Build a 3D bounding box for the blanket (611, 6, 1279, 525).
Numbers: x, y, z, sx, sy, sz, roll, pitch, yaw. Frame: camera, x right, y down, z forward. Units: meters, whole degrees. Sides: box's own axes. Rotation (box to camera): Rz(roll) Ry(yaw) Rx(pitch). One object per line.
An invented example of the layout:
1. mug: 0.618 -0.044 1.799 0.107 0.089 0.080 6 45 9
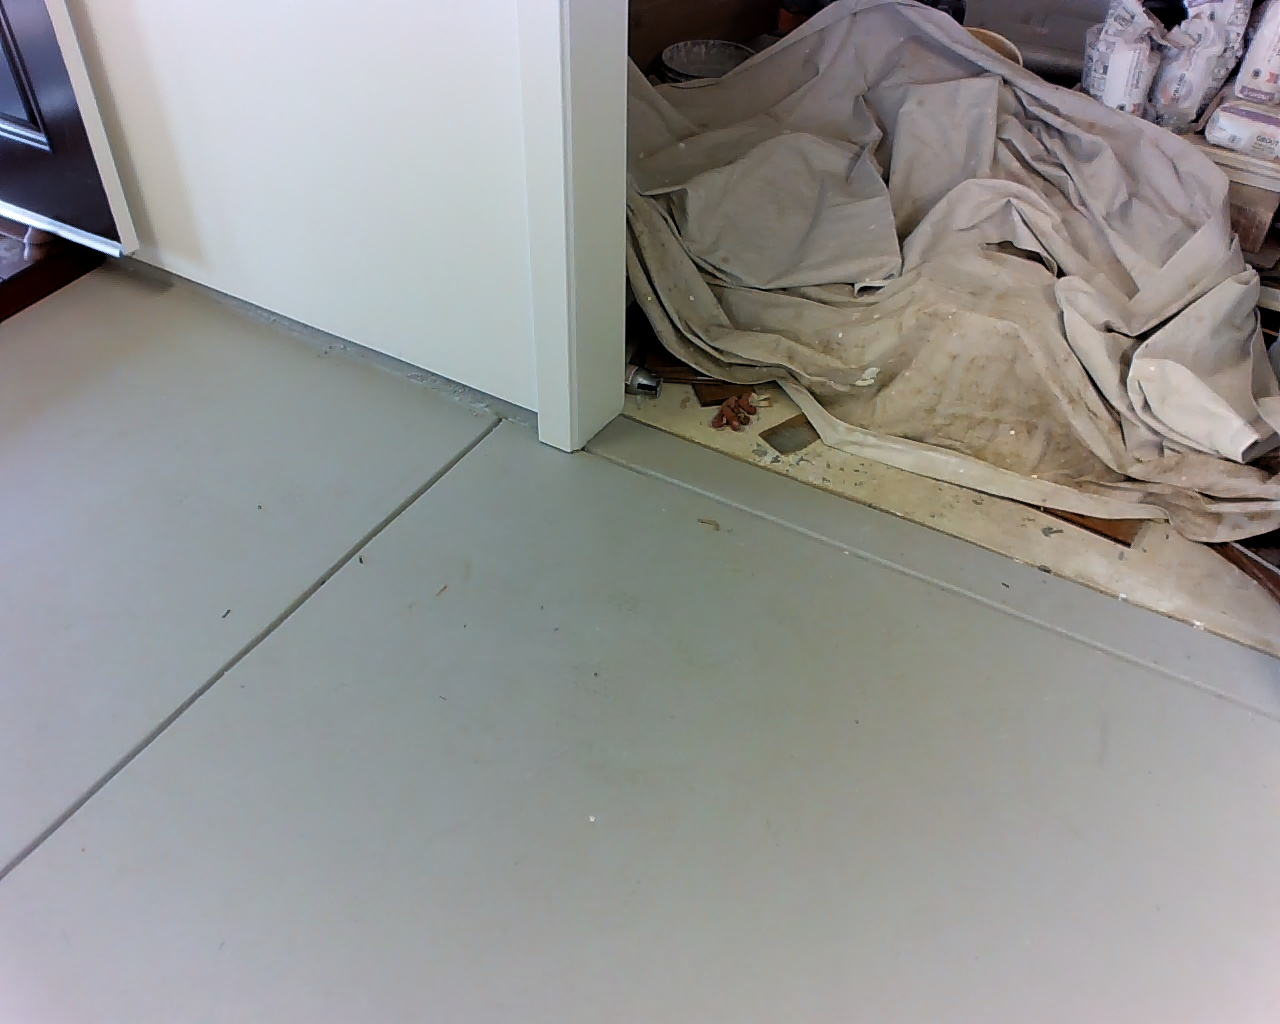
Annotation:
1. blanket: 0.780 -0.660 2.520 1.430 0.540 1.000 14 44 14
